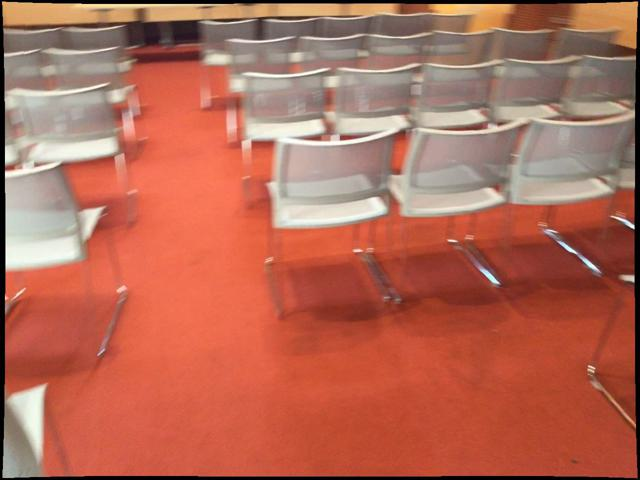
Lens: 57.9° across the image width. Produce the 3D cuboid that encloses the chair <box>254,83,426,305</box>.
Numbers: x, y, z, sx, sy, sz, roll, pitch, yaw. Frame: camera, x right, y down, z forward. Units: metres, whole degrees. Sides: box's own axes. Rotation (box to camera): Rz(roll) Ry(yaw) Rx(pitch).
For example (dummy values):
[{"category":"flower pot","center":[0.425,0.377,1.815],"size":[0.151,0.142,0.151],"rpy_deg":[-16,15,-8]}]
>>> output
[{"category":"chair","center":[0.060,-0.210,2.500],"size":[0.569,0.731,0.530],"rpy_deg":[-8,35,-10]}]

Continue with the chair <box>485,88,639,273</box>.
[{"category":"chair","center":[1.139,-0.250,2.530],"size":[0.659,0.741,0.230],"rpy_deg":[-5,35,-6]}]

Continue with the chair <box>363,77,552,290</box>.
[{"category":"chair","center":[0.549,-0.260,2.570],"size":[0.579,0.720,0.530],"rpy_deg":[-7,35,-9]}]

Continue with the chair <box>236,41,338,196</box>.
[{"category":"chair","center":[-0.180,-0.721,3.440],"size":[0.539,0.761,0.470],"rpy_deg":[-2,34,-2]}]

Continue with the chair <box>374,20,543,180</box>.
[{"category":"chair","center":[0.819,-0.911,3.670],"size":[0.709,0.710,0.730],"rpy_deg":[-10,35,-12]}]

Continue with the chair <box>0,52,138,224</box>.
[{"category":"chair","center":[-1.359,-0.571,3.190],"size":[0.530,0.741,0.520],"rpy_deg":[-8,35,-10]}]
